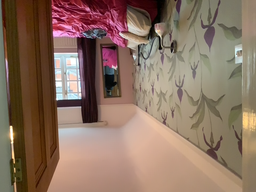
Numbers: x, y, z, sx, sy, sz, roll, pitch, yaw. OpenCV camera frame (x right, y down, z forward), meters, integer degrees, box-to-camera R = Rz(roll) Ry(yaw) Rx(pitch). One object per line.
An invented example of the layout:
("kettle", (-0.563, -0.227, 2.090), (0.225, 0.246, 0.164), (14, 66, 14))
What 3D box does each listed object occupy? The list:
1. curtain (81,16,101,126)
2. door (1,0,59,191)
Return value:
("curtain", (-0.810, -0.540, 4.670), (0.320, 2.370, 0.140), (-3, -177, -6))
("door", (-0.440, -0.560, 0.980), (0.040, 1.950, 0.750), (-3, -177, -11))
